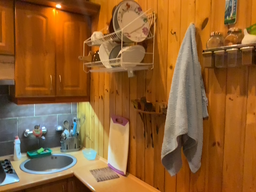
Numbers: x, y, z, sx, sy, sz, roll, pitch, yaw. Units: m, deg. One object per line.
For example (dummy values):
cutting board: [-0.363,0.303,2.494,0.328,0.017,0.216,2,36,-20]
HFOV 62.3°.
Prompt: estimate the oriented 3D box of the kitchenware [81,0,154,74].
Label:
kitchenware: [-0.110,-0.370,1.500,0.220,0.420,0.630,-2,5,-33]
